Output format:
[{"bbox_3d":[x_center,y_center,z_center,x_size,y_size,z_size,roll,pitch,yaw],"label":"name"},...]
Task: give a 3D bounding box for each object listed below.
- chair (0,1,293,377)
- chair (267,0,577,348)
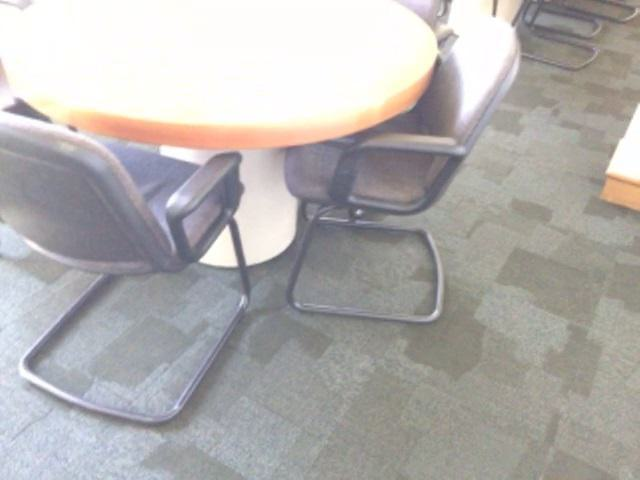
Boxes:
[{"bbox_3d":[-0.490,-0.170,1.340,0.640,0.480,0.560,24,44,23],"label":"chair"},{"bbox_3d":[0.180,-0.230,1.710,0.610,0.800,0.670,-4,40,-9],"label":"chair"}]
